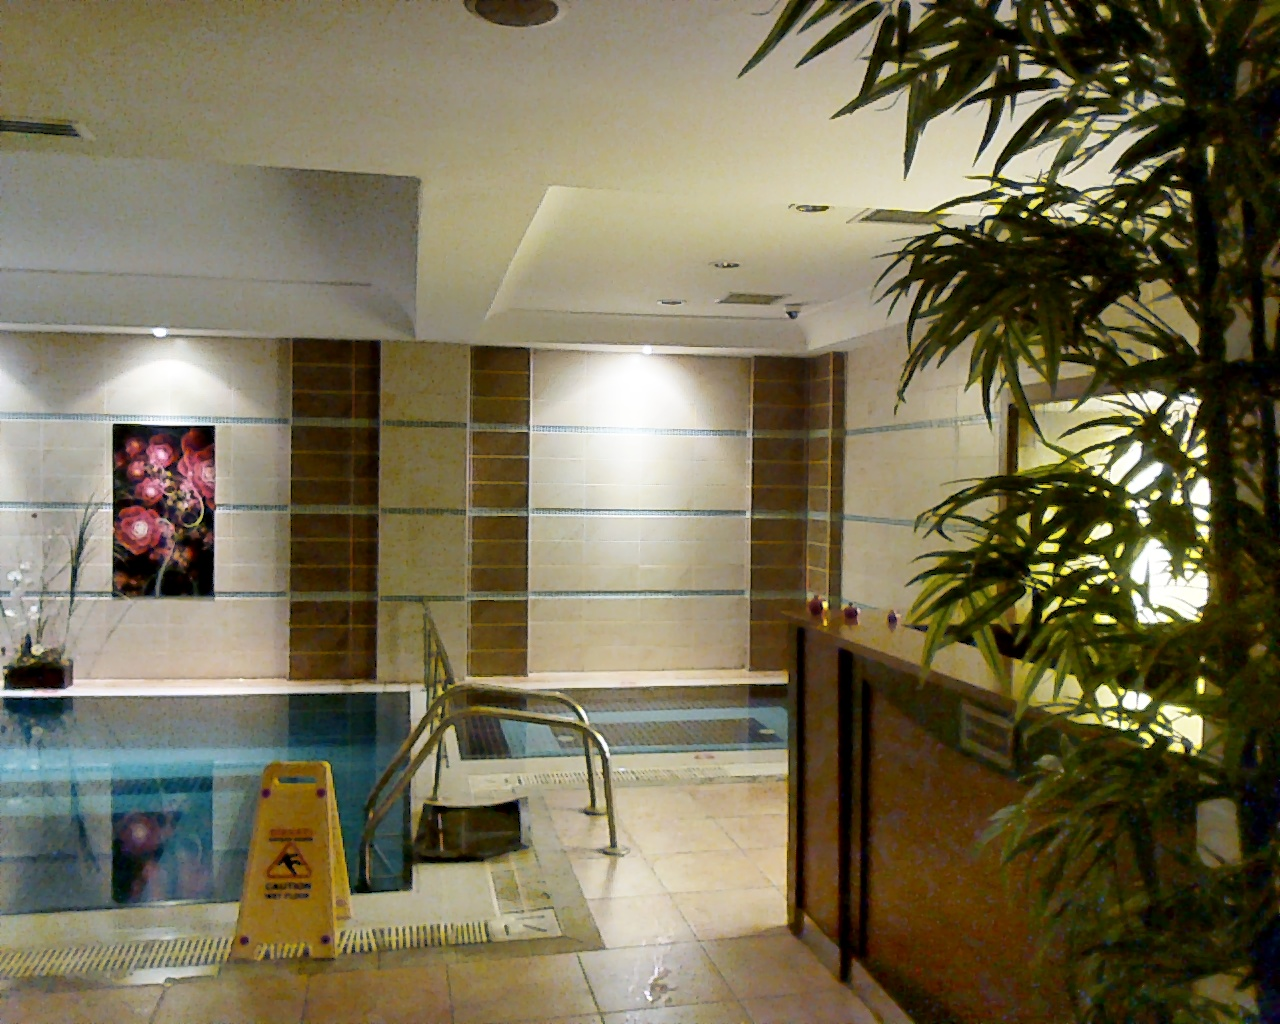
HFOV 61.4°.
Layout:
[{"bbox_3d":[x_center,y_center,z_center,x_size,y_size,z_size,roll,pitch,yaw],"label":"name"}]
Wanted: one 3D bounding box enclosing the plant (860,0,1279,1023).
[{"bbox_3d":[0.720,0.400,1.150,0.640,2.361,0.890,1,1,-12],"label":"plant"}]
